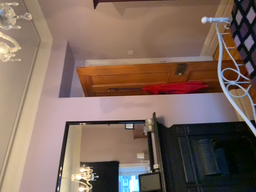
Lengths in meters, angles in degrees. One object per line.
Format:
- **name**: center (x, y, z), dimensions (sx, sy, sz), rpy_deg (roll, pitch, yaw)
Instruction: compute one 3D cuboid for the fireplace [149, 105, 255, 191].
- **fireplace**: center (0.870, 0.610, 2.180), dimensions (0.300, 1.200, 0.980), rpy_deg (89, 178, -56)
